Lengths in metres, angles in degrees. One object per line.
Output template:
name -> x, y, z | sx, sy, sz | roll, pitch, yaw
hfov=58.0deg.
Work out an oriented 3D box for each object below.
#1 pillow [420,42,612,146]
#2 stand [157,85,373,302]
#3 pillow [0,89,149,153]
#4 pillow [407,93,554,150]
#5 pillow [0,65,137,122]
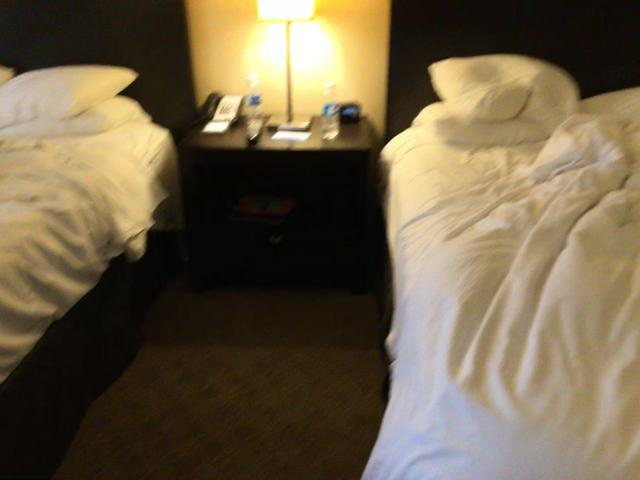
pillow -> 0.720, -0.580, 2.250 | 0.610, 0.320, 0.370 | 2, 26, 5
stand -> -0.180, -0.220, 2.510 | 0.790, 0.790, 0.520 | 2, 26, 5
pillow -> -1.060, -0.500, 2.370 | 0.530, 0.130, 0.510 | 2, 26, 5
pillow -> 0.610, -0.480, 2.300 | 0.500, 0.130, 0.380 | 2, 26, 5
pillow -> -1.110, -0.610, 2.360 | 0.540, 0.130, 0.480 | 2, 26, 5
